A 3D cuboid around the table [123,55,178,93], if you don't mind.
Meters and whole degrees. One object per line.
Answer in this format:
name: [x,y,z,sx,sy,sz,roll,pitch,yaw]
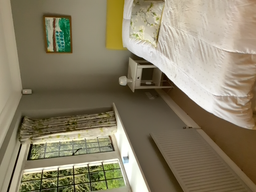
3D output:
table: [0.340,-0.370,3.420,0.460,0.700,0.470,-121,32,-59]
